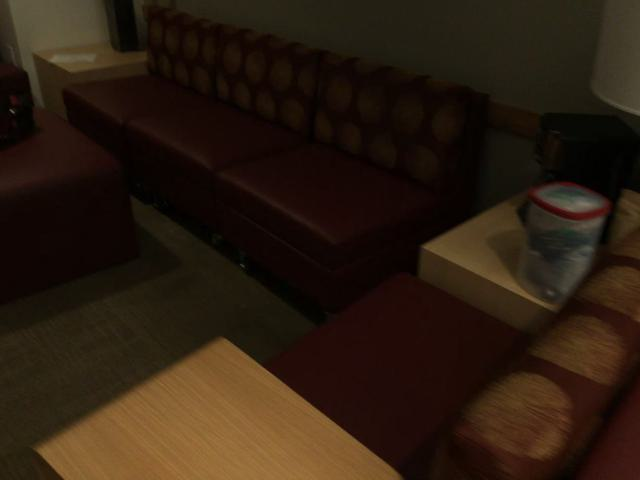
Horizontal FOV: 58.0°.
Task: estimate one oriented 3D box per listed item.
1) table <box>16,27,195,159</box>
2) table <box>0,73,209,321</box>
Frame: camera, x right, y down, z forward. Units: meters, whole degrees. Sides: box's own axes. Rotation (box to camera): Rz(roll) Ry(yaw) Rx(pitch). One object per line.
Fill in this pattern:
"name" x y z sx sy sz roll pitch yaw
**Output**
"table" -1.250 -0.910 3.440 0.740 0.560 0.640 -21 37 -39
"table" -1.260 -0.230 2.370 1.240 0.590 0.970 -21 37 -39
